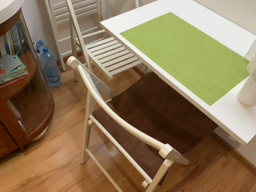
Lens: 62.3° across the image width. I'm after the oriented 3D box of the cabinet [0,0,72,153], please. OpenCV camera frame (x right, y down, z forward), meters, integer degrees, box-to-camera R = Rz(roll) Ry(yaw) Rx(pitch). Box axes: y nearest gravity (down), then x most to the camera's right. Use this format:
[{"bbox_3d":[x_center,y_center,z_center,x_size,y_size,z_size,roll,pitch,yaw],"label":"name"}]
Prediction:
[{"bbox_3d":[-0.660,-0.190,1.140,0.320,0.870,0.590,-32,60,-27],"label":"cabinet"}]
